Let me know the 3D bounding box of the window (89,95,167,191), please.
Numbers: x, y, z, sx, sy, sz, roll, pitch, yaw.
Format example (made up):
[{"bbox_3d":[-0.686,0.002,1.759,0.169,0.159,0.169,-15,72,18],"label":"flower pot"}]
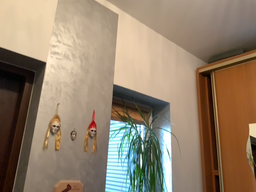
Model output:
[{"bbox_3d":[0.020,0.590,1.400,0.530,1.080,0.180,18,-24,-40],"label":"window"}]
